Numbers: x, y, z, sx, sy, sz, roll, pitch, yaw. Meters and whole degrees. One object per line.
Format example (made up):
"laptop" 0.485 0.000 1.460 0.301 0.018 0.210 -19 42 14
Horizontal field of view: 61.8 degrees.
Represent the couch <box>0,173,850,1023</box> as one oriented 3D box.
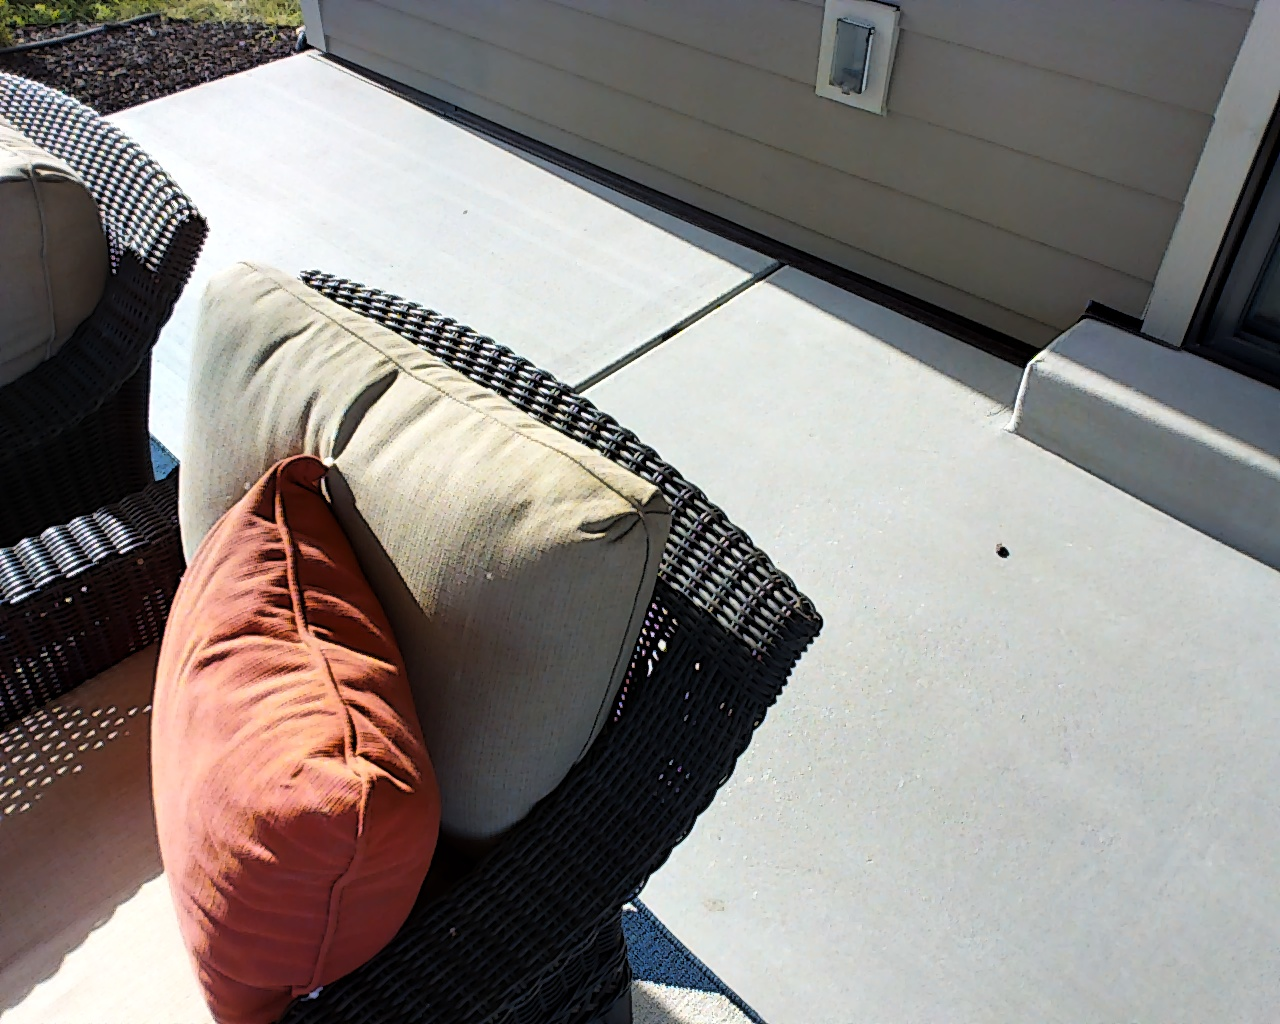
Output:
"couch" -0.420 0.300 1.140 0.850 0.850 0.820 33 51 31
